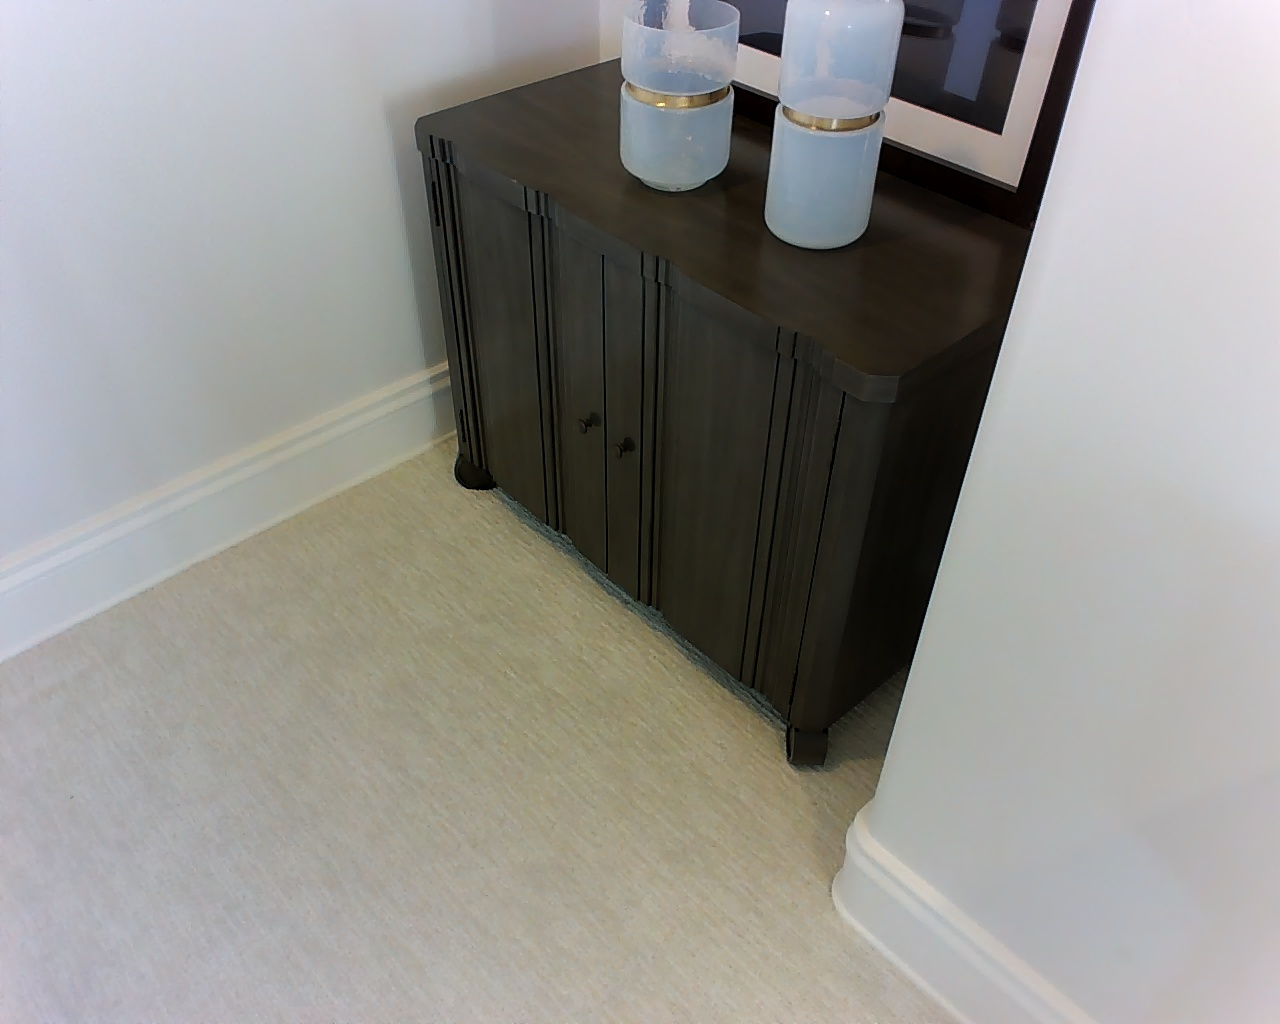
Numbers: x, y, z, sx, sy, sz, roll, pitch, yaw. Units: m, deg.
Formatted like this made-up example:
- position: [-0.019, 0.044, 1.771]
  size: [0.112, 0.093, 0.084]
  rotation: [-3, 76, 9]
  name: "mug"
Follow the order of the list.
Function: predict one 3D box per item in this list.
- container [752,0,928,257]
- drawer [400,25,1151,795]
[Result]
- position: [0.280, -0.580, 1.530]
  size: [0.160, 0.370, 0.140]
  rotation: [25, 47, 25]
  name: "container"
- position: [0.150, -0.250, 2.060]
  size: [0.530, 0.920, 1.170]
  rotation: [-30, 50, -31]
  name: "drawer"
